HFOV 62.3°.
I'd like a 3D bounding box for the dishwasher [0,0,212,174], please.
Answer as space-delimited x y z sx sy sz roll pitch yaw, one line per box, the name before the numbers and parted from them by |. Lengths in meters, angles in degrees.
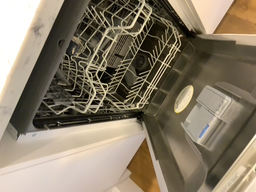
dishwasher | -0.140 -0.210 0.760 0.600 0.900 0.440 36 104 23
